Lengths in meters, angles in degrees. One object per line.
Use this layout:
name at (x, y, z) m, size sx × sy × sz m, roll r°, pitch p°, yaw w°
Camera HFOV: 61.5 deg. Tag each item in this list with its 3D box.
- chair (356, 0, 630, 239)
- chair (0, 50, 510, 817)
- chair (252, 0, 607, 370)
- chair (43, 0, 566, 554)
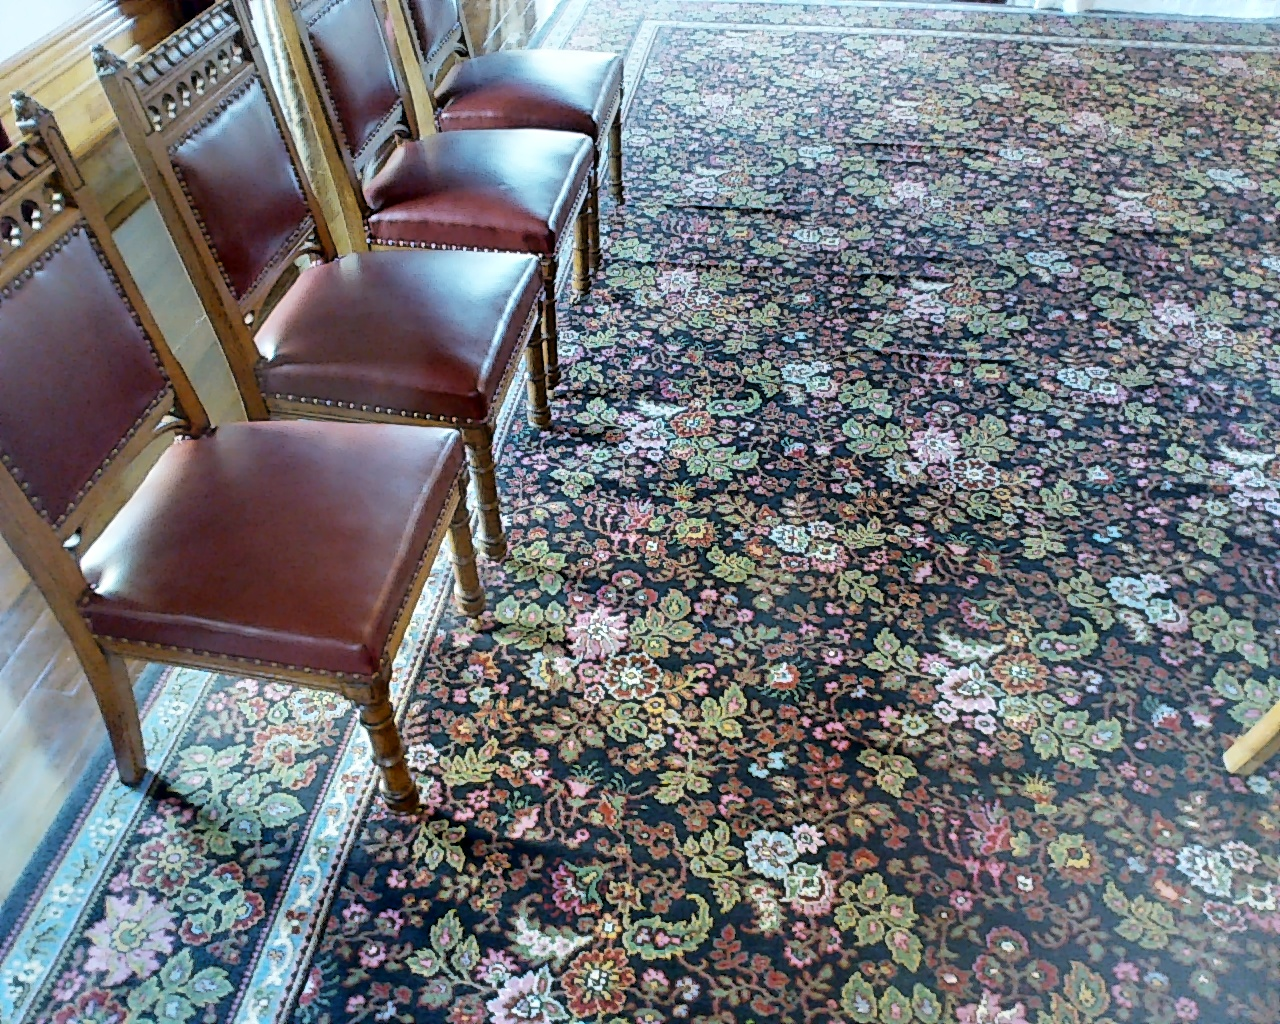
chair at (-0.380, -1.340, 3.020) m, size 0.630 × 0.940 × 0.520 m, roll 5°, pitch 43°, yaw 6°
chair at (-0.630, -0.090, 1.670) m, size 0.660 × 0.990 × 0.580 m, roll 5°, pitch 43°, yaw 6°
chair at (-0.440, -0.930, 2.580) m, size 0.620 × 0.990 × 0.550 m, roll 5°, pitch 43°, yaw 6°
chair at (-0.540, -0.500, 2.130) m, size 0.640 × 0.970 × 0.600 m, roll 5°, pitch 43°, yaw 6°
